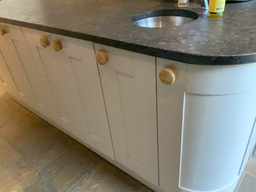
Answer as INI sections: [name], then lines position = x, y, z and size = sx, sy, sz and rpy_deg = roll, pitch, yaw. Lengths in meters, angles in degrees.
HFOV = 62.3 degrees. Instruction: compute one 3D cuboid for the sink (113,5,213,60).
[sink]
position = 0.160, -0.310, 0.970
size = 0.320, 0.120, 0.310
rpy_deg = 22, 42, 34
